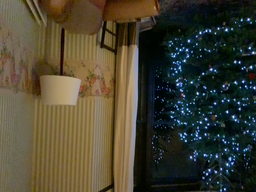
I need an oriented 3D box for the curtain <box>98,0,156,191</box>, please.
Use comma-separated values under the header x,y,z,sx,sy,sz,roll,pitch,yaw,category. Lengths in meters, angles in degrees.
x,y,z,sx,sy,sz,roll,pitch,yaw,category
-0.040,0.320,3.170,0.530,3.190,0.650,3,178,-28,curtain
